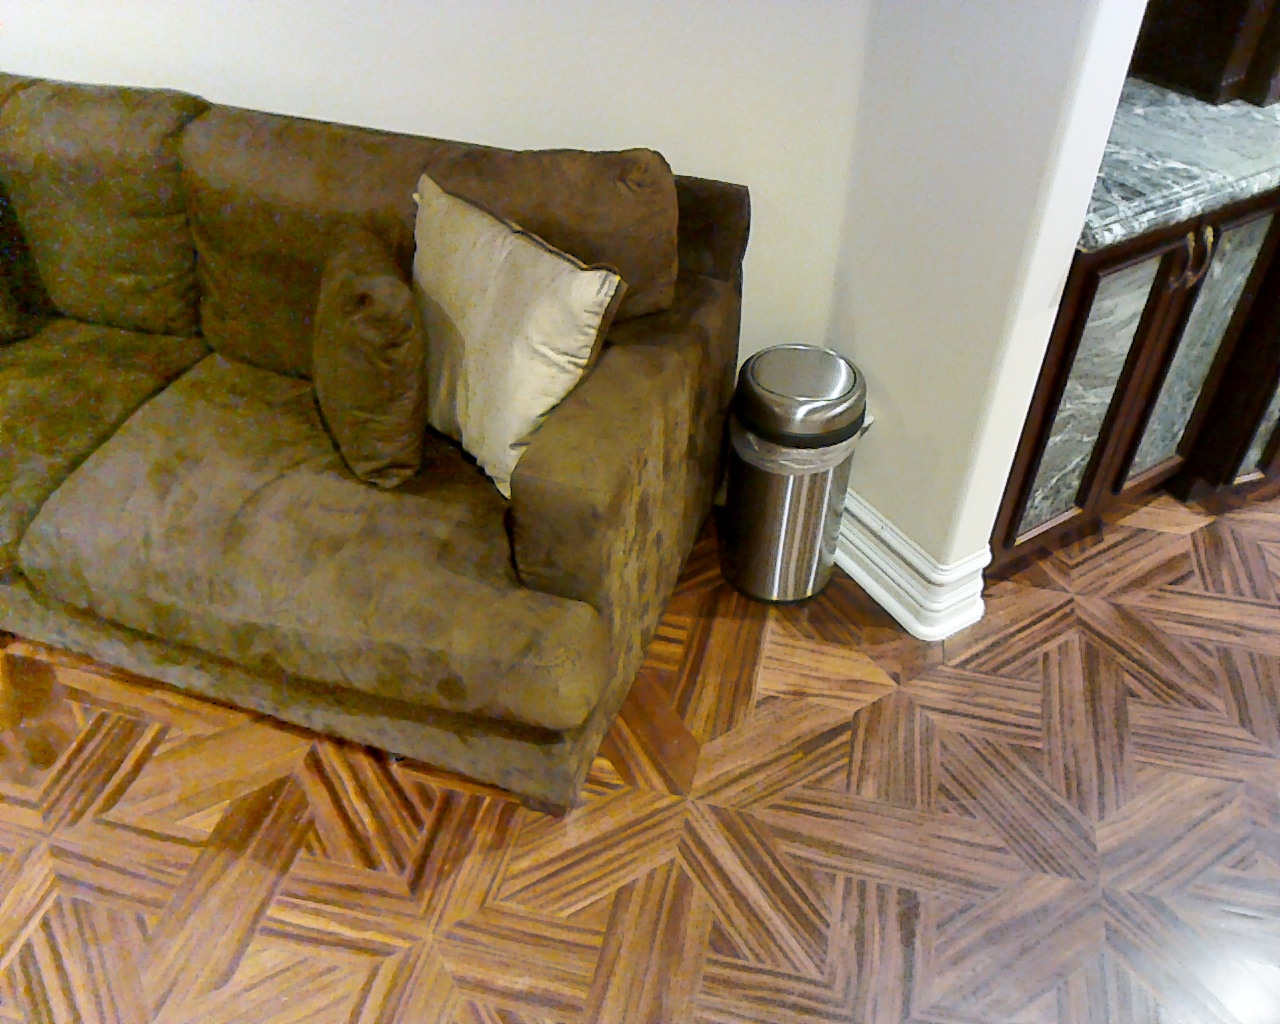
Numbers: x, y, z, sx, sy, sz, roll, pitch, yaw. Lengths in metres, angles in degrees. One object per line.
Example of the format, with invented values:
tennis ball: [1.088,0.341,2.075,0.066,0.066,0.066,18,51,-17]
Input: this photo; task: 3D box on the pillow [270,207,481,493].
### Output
pillow: [-0.490,-0.310,1.970,0.170,0.370,0.440,-30,31,-2]

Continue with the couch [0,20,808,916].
couch: [-0.970,-0.270,2.170,2.320,0.940,1.000,15,43,16]
